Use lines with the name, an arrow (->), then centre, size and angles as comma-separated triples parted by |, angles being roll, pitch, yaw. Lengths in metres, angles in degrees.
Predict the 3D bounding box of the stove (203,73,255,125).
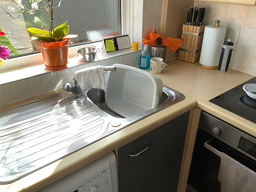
stove -> 0.800, 0.050, 1.080 | 0.550, 0.010, 0.590 | -21, 36, -32

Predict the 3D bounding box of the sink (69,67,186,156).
sink -> -0.020, 0.040, 1.270 | 0.450, 0.180, 0.520 | -21, 36, -32
